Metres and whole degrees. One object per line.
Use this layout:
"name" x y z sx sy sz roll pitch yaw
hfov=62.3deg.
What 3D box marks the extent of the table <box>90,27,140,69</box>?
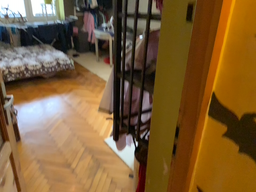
"table" -0.330 -1.210 5.180 0.850 0.770 0.870 -14 30 -30
